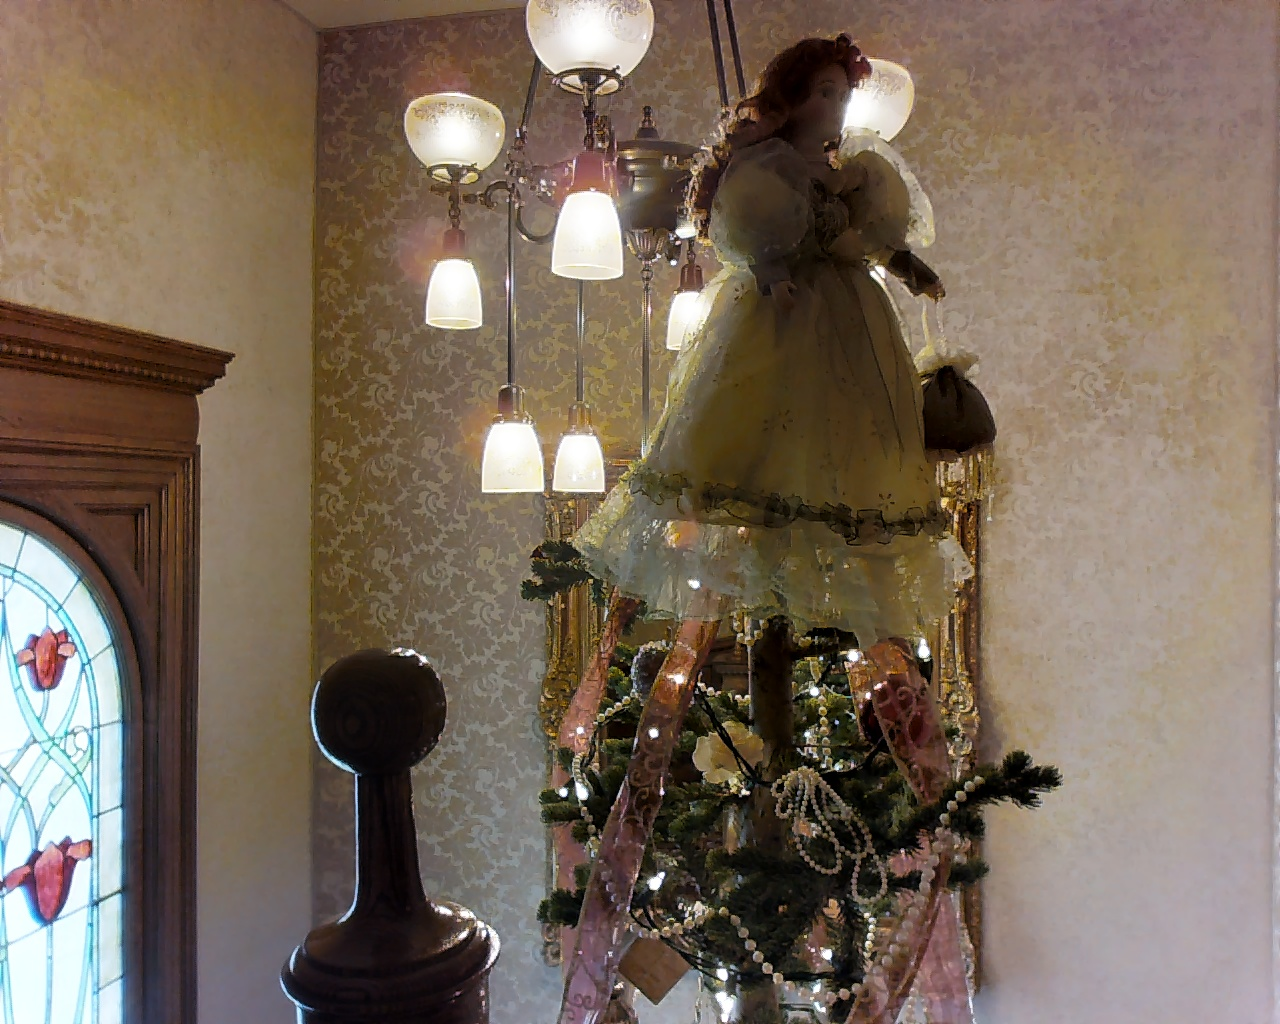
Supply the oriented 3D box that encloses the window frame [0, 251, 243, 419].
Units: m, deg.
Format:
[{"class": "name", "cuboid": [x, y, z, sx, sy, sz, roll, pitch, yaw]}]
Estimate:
[{"class": "window frame", "cuboid": [-1.330, -0.400, 2.240, 0.080, 0.260, 1.620, 0, -1, 13]}]
